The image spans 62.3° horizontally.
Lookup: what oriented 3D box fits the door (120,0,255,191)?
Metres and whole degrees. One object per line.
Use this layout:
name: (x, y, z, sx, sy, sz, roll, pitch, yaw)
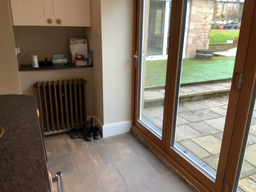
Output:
door: (0.580, -0.170, 1.780, 0.210, 2.260, 2.480, -8, 20, -27)
